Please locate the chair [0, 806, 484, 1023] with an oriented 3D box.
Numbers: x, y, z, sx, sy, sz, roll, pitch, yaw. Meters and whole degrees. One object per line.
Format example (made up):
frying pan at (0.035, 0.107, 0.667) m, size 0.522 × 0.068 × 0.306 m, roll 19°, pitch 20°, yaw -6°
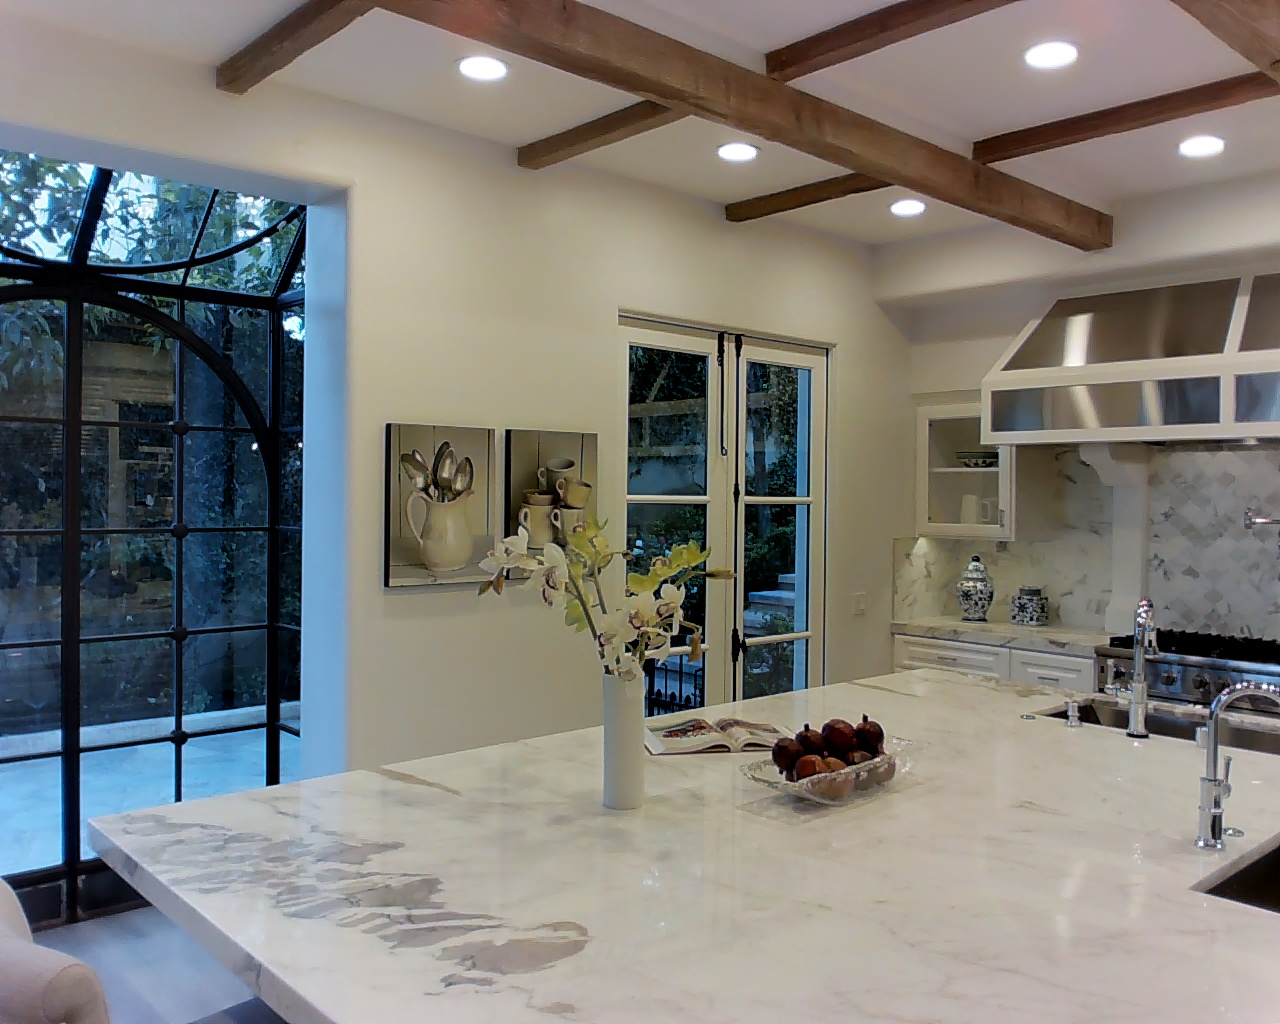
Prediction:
chair at (-0.720, 1.100, 1.760) m, size 0.720 × 0.990 × 0.560 m, roll 0°, pitch 0°, yaw -42°
